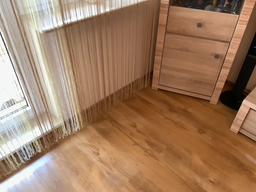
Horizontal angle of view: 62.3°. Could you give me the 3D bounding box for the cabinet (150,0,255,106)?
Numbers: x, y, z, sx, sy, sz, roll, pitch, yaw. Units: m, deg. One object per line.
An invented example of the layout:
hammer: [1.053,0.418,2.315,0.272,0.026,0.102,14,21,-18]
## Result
cabinet: [0.620,-0.900,1.520,0.650,2.030,0.440,16,43,17]
